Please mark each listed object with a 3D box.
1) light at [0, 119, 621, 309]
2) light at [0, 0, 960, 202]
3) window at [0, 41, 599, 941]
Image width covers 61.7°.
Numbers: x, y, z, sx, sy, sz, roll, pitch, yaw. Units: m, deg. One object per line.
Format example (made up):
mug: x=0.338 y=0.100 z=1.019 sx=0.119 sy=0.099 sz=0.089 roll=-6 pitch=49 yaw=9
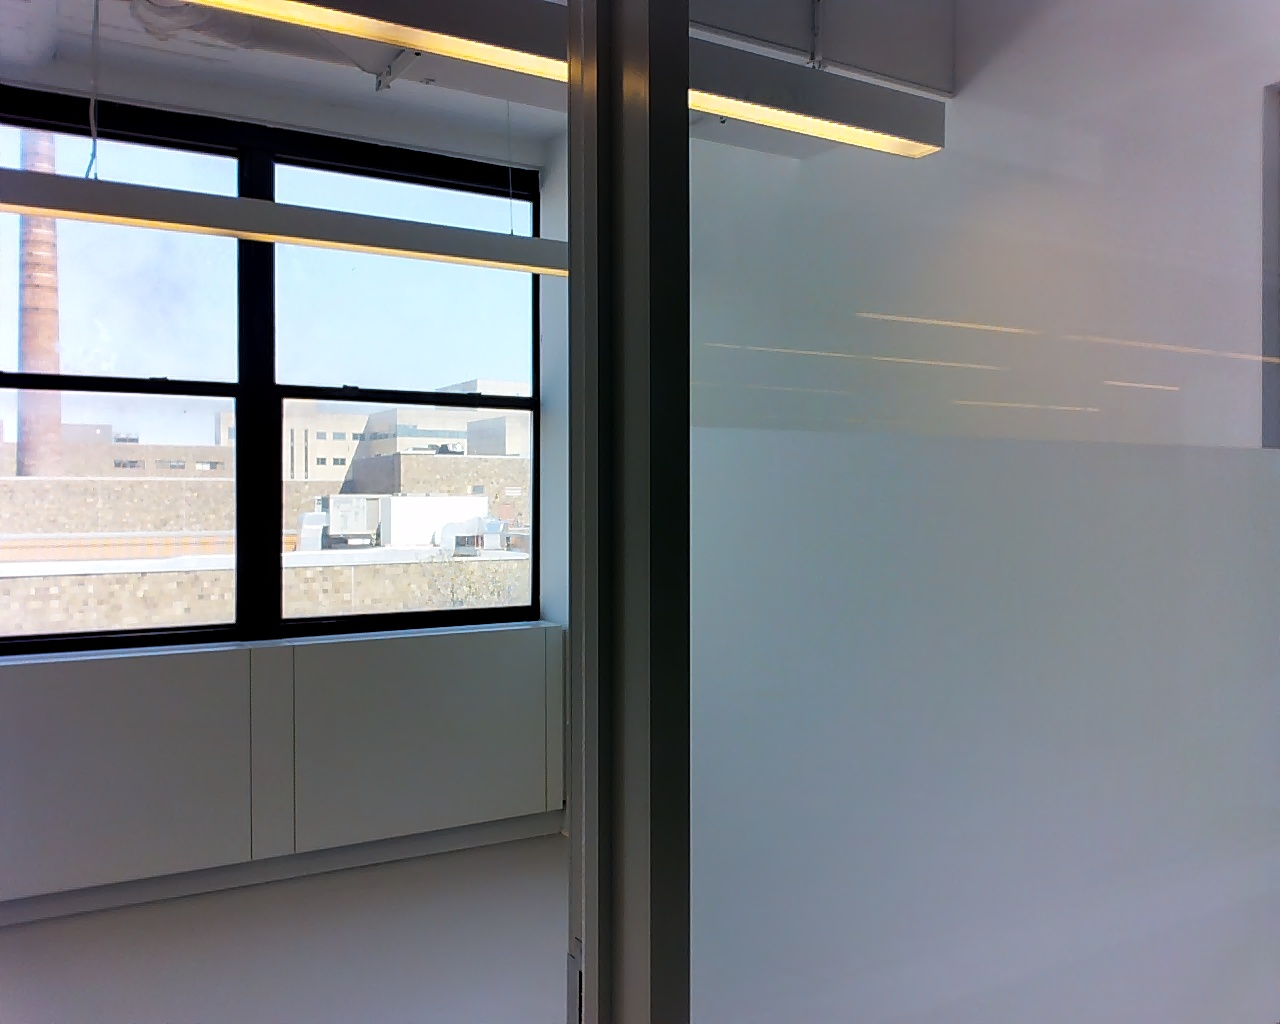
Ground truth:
light: x=-1.200 y=-0.880 z=3.190 sx=2.490 sy=0.260 sz=0.280 roll=0 pitch=1 yaw=-31
light: x=-0.500 y=-0.960 z=1.810 sx=2.660 sy=0.400 sz=0.290 roll=0 pitch=0 yaw=-31
window: x=-1.530 y=-0.070 z=3.960 sx=3.030 sy=2.941 sz=0.200 roll=-1 pitch=1 yaw=-31
